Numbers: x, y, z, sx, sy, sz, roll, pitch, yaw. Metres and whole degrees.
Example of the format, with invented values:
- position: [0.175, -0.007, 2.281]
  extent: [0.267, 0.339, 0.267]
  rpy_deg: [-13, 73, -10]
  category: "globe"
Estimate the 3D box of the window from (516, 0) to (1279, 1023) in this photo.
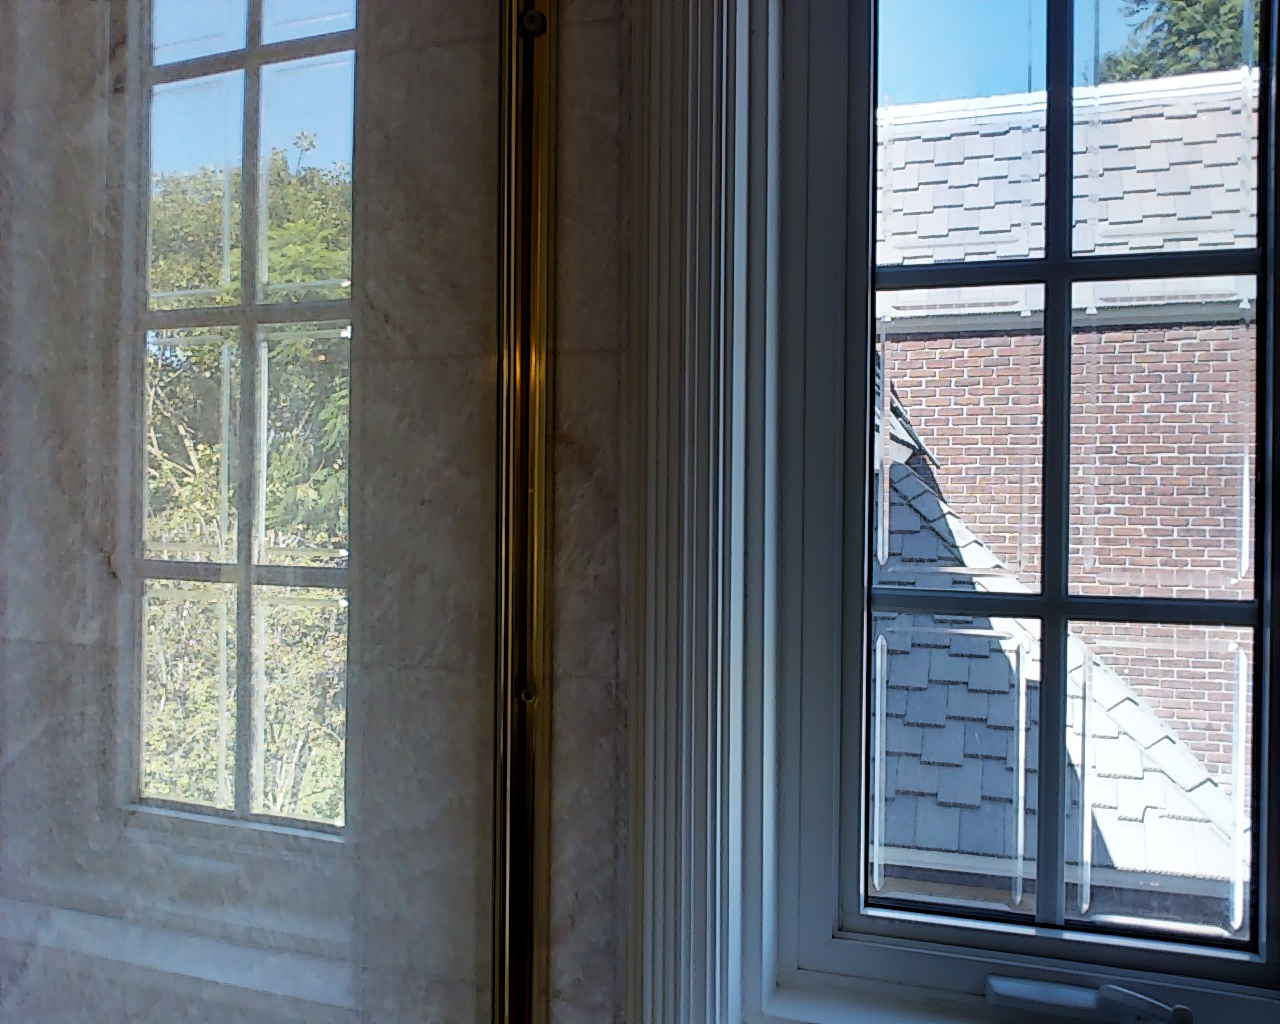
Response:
- position: [0.360, -0.270, 0.930]
  extent: [0.910, 1.720, 0.240]
  rpy_deg: [0, 1, 19]
  category: "window"
